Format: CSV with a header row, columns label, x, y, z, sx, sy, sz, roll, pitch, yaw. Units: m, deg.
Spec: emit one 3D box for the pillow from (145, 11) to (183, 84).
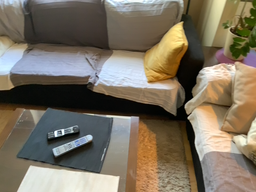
label,x,y,z,sx,sy,sz,roll,pitch,yaw
pillow,0.280,-0.400,1.710,0.220,0.270,0.530,-10,48,14
